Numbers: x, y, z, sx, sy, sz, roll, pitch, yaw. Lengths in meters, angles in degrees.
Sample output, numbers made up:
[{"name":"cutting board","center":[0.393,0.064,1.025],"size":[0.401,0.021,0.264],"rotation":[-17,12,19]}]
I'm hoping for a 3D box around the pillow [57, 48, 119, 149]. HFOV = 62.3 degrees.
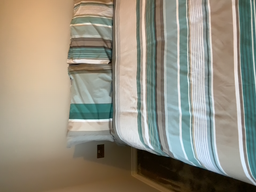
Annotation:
[{"name":"pillow","center":[-0.370,0.040,2.070],"size":[0.320,0.470,0.860],"rotation":[-3,83,35]}]
